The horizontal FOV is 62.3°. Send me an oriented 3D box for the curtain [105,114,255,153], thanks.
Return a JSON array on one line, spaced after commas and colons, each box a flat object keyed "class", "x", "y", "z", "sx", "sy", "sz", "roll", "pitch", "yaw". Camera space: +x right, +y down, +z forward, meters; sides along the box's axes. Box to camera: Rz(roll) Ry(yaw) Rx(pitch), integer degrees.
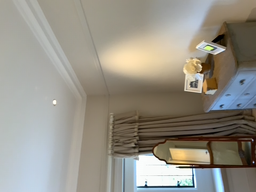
[{"class": "curtain", "x": 0.780, "y": 0.590, "z": 3.320, "sx": 0.320, "sy": 2.210, "sz": 0.490, "roll": 85, "pitch": -175, "yaw": -61}]
